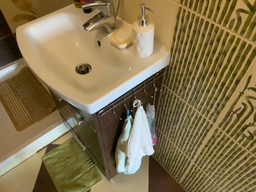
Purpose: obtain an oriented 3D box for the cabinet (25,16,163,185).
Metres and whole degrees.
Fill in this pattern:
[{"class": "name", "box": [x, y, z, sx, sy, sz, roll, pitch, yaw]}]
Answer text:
[{"class": "cabinet", "box": [-0.150, 0.070, 1.130, 0.330, 0.730, 0.480, -34, 59, -23]}]
